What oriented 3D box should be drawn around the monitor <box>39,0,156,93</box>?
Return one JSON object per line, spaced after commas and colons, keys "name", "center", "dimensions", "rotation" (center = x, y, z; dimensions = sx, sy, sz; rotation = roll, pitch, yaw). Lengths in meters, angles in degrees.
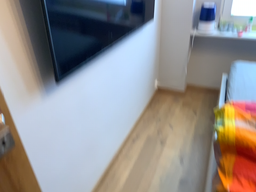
{"name": "monitor", "center": [-0.040, -0.650, 1.170], "dimensions": [0.040, 0.730, 1.230], "rotation": [12, 38, 21]}
